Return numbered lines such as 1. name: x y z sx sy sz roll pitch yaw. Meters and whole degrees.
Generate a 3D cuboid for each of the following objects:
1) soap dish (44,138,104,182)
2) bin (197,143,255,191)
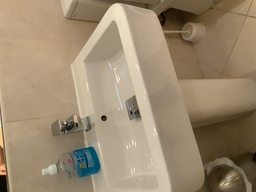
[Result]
1. soap dish: -0.180 0.210 0.710 0.060 0.170 0.100 -30 70 52
2. bin: 0.520 0.370 1.020 0.170 0.280 0.210 -34 66 51
